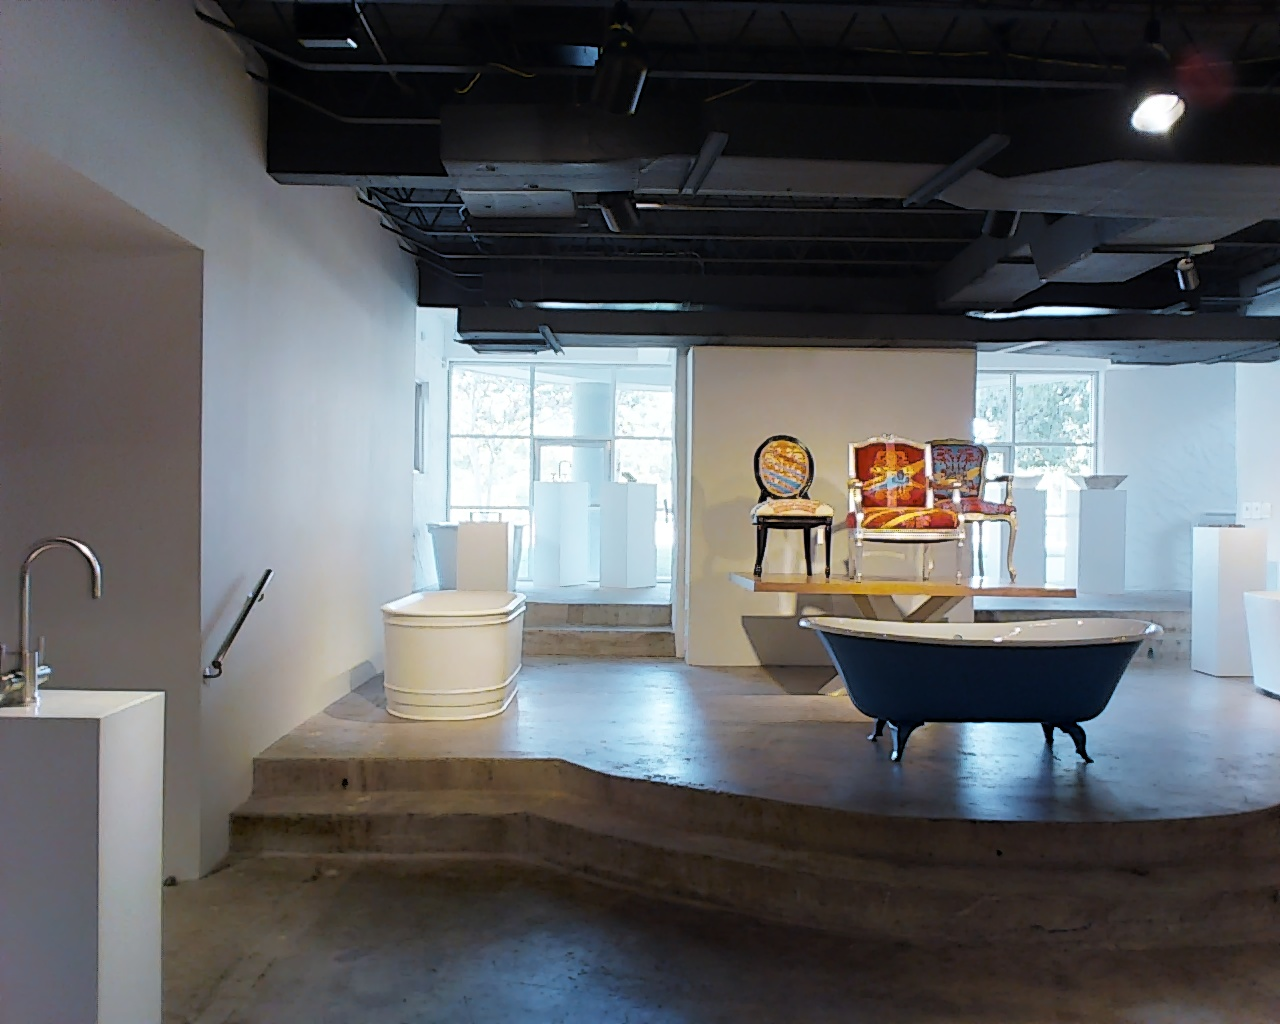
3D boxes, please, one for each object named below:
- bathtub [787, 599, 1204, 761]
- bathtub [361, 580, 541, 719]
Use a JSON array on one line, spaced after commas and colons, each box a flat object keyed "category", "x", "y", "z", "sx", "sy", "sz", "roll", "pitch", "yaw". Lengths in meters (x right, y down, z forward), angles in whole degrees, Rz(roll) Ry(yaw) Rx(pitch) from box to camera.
[{"category": "bathtub", "x": 1.660, "y": 0.790, "z": 5.240, "sx": 1.750, "sy": 0.630, "sz": 0.810, "roll": 1, "pitch": 0, "yaw": -1}, {"category": "bathtub", "x": -1.080, "y": 0.780, "z": 6.500, "sx": 0.800, "sy": 0.610, "sz": 1.590, "roll": 1, "pitch": 0, "yaw": 0}]
